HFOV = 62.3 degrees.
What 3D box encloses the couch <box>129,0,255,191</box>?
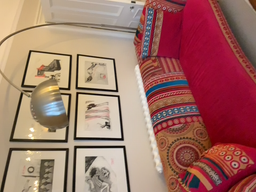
[{"bbox_3d":[0.680,-0.120,2.070,1.030,0.770,2.470,113,154,-51],"label":"couch"}]
